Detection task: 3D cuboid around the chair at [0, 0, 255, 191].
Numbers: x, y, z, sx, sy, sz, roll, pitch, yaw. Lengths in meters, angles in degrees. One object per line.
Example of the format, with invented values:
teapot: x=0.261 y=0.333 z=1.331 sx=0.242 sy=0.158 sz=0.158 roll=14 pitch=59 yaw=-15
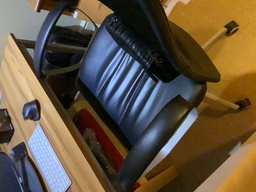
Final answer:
chair: x=-0.090 y=-0.150 z=0.710 sx=0.660 sy=1.270 sz=0.700 roll=49 pitch=122 yaw=26
